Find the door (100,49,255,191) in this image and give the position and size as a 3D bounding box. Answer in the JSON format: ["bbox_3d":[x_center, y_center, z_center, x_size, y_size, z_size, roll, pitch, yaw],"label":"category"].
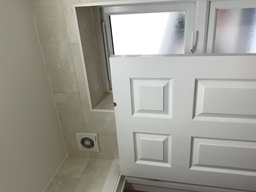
[{"bbox_3d":[0.880,0.180,0.980,0.060,2.020,0.790,-61,-30,-64],"label":"door"}]
